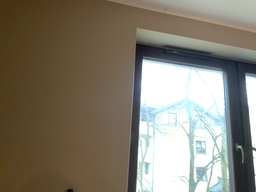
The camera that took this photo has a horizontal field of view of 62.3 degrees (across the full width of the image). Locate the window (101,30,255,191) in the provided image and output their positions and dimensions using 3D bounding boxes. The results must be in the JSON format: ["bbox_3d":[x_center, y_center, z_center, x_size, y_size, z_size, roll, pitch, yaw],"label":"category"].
[{"bbox_3d":[0.640,0.370,1.680,1.600,1.570,0.270,7,-16,-10],"label":"window"}]
